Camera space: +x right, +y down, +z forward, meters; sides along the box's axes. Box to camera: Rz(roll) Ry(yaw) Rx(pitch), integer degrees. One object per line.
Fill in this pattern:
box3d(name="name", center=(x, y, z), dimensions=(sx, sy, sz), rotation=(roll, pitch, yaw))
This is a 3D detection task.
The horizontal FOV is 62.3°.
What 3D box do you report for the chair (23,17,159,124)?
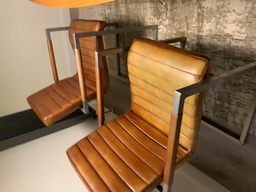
box3d(name="chair", center=(-0.250, -0.270, 1.600), dimensions=(0.530, 0.790, 0.560), rotation=(28, 127, 48))
